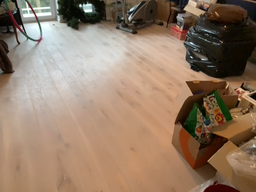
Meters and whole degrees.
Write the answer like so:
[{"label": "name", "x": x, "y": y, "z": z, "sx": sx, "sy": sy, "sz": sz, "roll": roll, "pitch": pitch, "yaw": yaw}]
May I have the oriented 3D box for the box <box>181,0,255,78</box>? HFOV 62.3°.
[{"label": "box", "x": 1.450, "y": -0.880, "z": 3.070, "sx": 0.920, "sy": 0.850, "sz": 0.730, "roll": -13, "pitch": 37, "yaw": -23}]
